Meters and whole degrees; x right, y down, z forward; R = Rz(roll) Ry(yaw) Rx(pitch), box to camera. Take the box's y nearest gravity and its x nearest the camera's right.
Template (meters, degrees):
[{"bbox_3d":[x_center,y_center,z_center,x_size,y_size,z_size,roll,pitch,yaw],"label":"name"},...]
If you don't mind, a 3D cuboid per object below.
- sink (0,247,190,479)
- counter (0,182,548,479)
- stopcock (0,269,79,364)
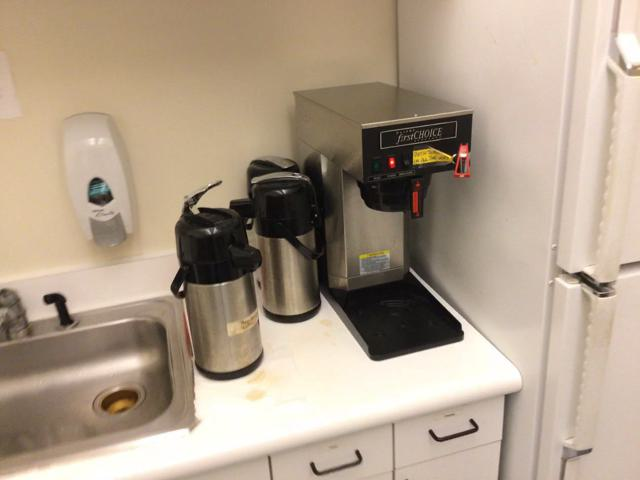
[{"bbox_3d":[-0.600,0.300,1.210,0.580,0.320,0.470,-10,24,-11],"label":"sink"},{"bbox_3d":[-0.560,0.230,1.130,1.800,0.190,0.710,-12,24,-15],"label":"counter"},{"bbox_3d":[-0.640,0.170,1.340,0.110,0.120,0.190,-10,24,-11],"label":"stopcock"}]
